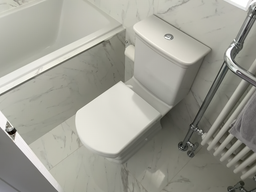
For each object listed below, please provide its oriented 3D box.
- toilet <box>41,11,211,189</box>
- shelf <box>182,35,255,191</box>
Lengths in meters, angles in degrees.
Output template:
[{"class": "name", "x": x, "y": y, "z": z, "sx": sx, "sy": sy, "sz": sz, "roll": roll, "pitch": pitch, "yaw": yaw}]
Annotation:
[{"class": "toilet", "x": 0.000, "y": 0.060, "z": 1.290, "sx": 0.680, "sy": 0.790, "sz": 0.420, "roll": -36, "pitch": 62, "yaw": -25}, {"class": "shelf", "x": 0.590, "y": 0.150, "z": 0.910, "sx": 0.290, "sy": 0.910, "sz": 0.410, "roll": -32, "pitch": 60, "yaw": -24}]
